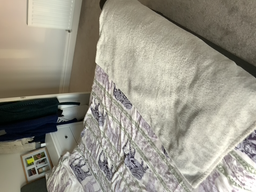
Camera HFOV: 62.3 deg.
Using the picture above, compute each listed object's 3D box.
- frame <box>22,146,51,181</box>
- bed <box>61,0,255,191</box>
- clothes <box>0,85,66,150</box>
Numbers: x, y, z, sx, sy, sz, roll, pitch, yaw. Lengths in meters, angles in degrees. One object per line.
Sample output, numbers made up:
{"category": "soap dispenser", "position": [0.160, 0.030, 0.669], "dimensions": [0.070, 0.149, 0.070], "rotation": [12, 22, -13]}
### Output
{"category": "frame", "position": [-1.160, 0.840, 2.670], "dimensions": [0.370, 0.320, 0.140], "rotation": [64, 143, 43]}
{"category": "bed", "position": [0.080, 0.460, 1.780], "dimensions": [1.570, 0.550, 2.360], "rotation": [49, 133, 39]}
{"category": "clothes", "position": [-1.490, 0.280, 2.410], "dimensions": [0.300, 1.410, 0.680], "rotation": [51, 133, 38]}
